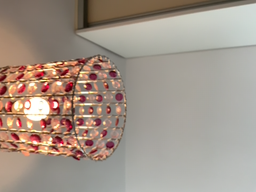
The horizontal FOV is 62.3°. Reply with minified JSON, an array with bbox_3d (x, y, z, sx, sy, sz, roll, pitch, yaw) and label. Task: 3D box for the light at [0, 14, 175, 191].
[{"bbox_3d":[-0.290,0.100,0.730,0.720,0.500,0.450,7,-116,28],"label":"light"}]
